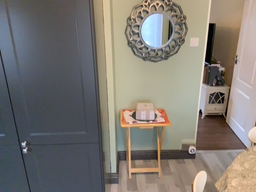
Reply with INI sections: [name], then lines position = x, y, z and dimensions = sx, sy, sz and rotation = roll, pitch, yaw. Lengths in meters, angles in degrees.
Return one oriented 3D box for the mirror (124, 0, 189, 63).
[mirror]
position = 0.260, -0.630, 2.050
dimensions = 0.590, 0.600, 0.090
rotation = -1, 20, -2
